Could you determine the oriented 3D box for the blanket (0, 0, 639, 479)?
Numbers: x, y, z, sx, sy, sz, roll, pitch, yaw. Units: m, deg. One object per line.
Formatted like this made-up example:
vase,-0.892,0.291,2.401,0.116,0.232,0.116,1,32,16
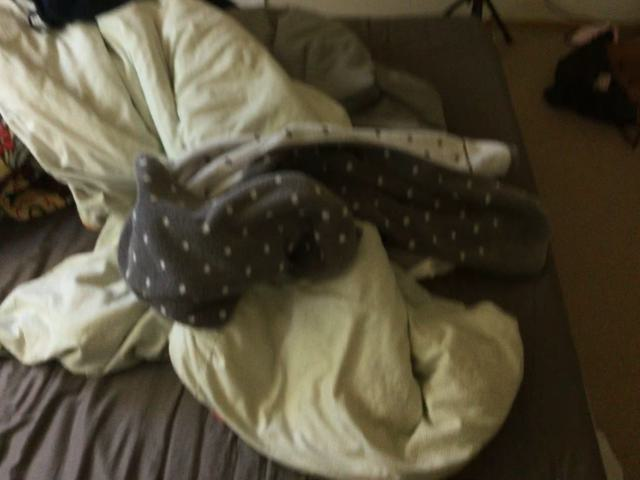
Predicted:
blanket,-0.270,-0.200,1.070,1.270,0.310,1.190,1,51,5
